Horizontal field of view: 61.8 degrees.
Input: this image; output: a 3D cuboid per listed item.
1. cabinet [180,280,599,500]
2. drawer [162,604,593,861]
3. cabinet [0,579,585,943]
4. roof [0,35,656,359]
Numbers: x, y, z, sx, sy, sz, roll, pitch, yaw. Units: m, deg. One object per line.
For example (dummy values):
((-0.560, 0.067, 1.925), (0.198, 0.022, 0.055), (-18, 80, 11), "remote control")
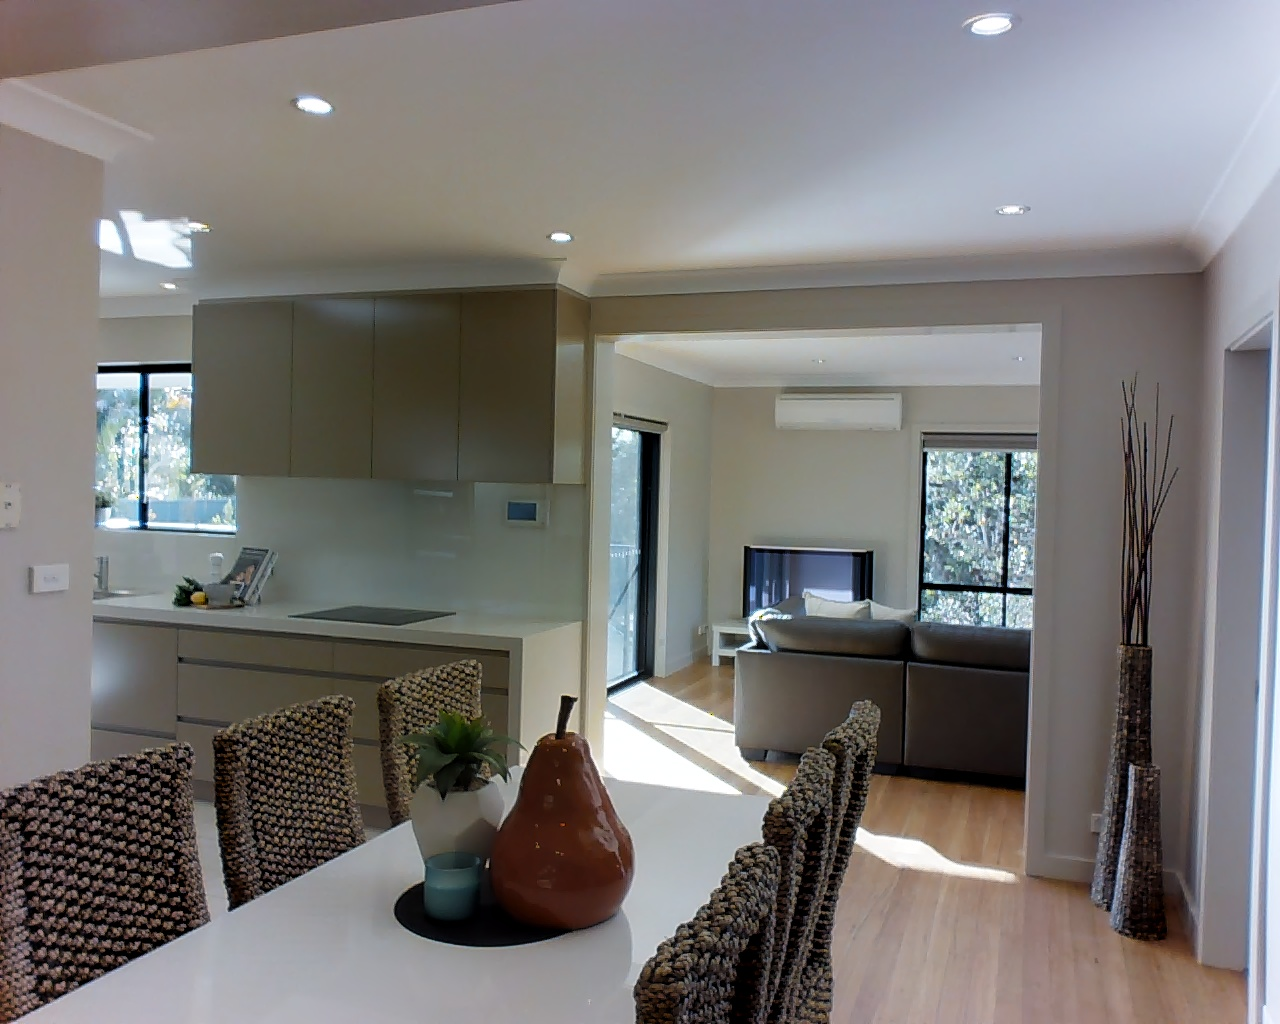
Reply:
((-1.240, -0.560, 5.170), (2.049, 0.950, 0.430), (2, 1, 19), "cabinet")
((-1.230, 0.960, 5.010), (1.880, 0.890, 0.670), (2, 1, 19), "drawer")
((-2.819, 0.910, 5.140), (4.859, 0.940, 1.540), (2, 1, 19), "cabinet")
((-2.859, -1.010, 4.660), (5.109, 0.230, 3.170), (2, 1, 19), "roof")
